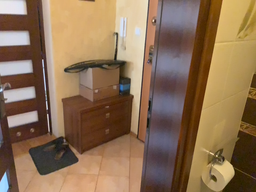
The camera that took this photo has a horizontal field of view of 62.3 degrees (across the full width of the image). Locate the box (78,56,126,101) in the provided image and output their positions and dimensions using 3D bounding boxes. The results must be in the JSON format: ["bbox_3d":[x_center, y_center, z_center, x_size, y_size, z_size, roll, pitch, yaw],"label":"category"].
[{"bbox_3d":[-0.310,-0.230,2.520,0.480,0.410,0.280,-15,28,-40],"label":"box"}]
